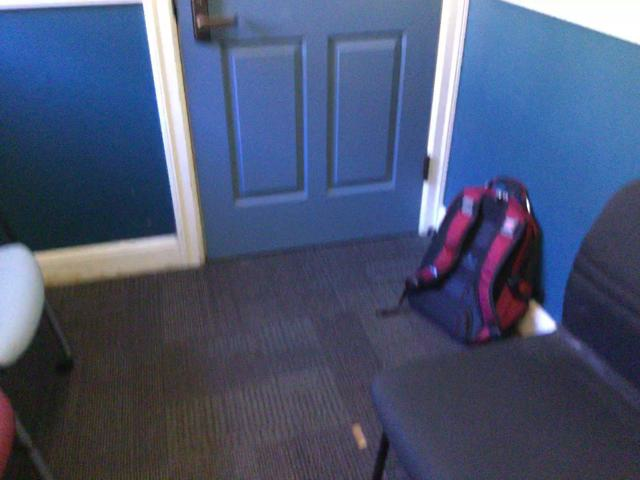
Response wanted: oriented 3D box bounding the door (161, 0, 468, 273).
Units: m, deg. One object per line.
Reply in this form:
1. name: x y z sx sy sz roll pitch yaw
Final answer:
1. door: 0.000 -0.540 2.030 1.020 1.340 0.080 -7 30 -14

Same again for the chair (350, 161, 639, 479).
1. chair: 0.440 0.340 1.050 0.610 0.780 0.530 -7 30 -14

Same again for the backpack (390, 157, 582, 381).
1. backpack: 0.490 0.070 1.870 0.330 0.510 0.490 -7 30 -14

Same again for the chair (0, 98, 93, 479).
1. chair: -0.930 0.190 1.350 0.580 0.850 0.630 -7 30 -14
